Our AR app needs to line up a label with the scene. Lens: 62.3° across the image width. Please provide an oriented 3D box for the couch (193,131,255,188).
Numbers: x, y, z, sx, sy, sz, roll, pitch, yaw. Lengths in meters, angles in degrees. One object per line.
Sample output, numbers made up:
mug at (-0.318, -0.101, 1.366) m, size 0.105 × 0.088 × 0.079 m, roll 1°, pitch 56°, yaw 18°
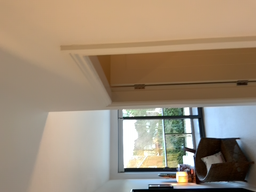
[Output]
couch at (1.610, 1.100, 3.700) m, size 0.710 × 0.710 × 0.620 m, roll -88°, pitch -4°, yaw -57°
